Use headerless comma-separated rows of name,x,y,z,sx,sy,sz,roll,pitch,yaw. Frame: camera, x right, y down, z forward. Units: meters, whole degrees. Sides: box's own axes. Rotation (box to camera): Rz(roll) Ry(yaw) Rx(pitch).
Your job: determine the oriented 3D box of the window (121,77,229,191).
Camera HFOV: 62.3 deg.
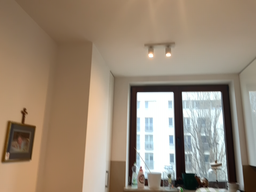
window,0.640,0.540,3.110,1.420,1.650,0.210,1,-13,4
